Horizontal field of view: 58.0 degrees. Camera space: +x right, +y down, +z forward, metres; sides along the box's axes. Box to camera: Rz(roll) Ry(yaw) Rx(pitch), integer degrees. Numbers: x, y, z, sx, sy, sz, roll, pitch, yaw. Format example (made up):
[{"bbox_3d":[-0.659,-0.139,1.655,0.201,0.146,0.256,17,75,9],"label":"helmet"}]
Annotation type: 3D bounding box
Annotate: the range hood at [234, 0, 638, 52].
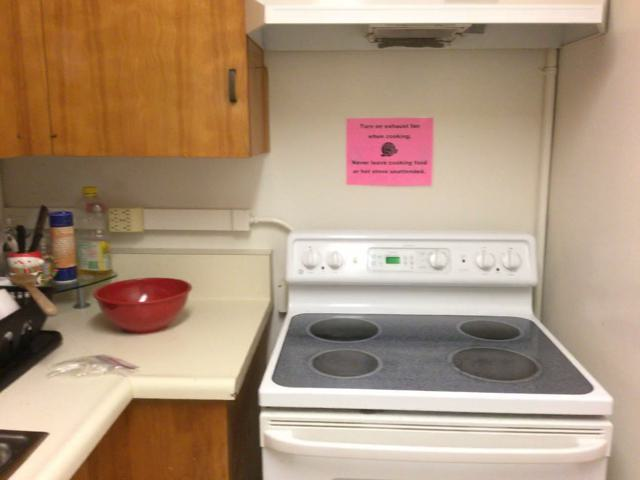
[{"bbox_3d":[0.260,-0.620,1.510,0.900,0.180,0.460,1,10,0],"label":"range hood"}]
